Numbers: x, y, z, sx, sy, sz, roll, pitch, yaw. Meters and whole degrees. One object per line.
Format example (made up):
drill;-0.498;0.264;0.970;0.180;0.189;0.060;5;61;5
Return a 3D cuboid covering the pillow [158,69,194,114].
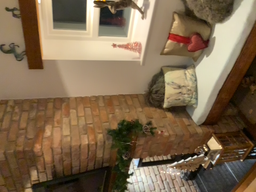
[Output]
pillow;0.510;-0.050;2.240;0.140;0.300;0.410;-7;96;53

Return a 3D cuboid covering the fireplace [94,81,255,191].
fireplace;0.400;0.850;2.820;1.180;1.430;1.720;-111;26;-47

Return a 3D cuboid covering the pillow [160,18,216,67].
pillow;0.550;-0.500;2.020;0.200;0.350;0.390;-110;25;-45

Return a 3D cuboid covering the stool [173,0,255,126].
stool;1.000;-0.370;2.080;0.580;0.570;1.270;-111;26;-47
